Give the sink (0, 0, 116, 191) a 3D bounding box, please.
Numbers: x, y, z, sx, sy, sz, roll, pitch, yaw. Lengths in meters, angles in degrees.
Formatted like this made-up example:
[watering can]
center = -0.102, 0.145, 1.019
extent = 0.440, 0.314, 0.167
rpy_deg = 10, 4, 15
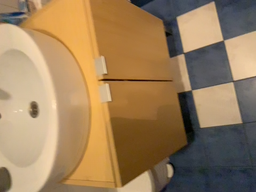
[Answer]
[sink]
center = -0.320, 0.040, 0.700
extent = 0.410, 0.220, 0.550
rpy_deg = -14, 86, 34
